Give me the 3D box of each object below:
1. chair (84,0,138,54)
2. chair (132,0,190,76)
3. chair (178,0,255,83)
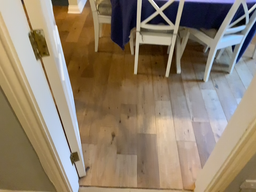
[{"bbox_3d":[-0.160,-0.950,2.300,0.500,0.840,0.440,5,45,3],"label":"chair"},{"bbox_3d":[0.290,-0.700,2.040,0.420,0.870,0.470,5,45,3],"label":"chair"},{"bbox_3d":[0.850,-0.640,2.000,0.410,0.860,0.460,-18,48,-19],"label":"chair"}]
